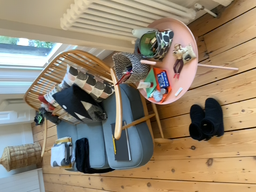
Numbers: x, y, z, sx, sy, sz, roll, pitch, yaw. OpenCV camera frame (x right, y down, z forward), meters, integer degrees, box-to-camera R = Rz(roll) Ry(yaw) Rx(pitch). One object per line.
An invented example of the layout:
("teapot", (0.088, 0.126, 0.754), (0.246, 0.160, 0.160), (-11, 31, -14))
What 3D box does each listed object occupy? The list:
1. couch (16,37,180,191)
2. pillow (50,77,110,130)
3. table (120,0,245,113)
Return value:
("couch", (-0.500, 0.280, 2.230), (1.760, 0.760, 1.000), (-20, 77, 48))
("pillow", (-0.470, 0.100, 1.980), (0.540, 0.440, 0.120), (-33, 22, 57))
("table", (0.340, -0.210, 1.400), (0.510, 0.490, 0.500), (-23, 75, 48))
